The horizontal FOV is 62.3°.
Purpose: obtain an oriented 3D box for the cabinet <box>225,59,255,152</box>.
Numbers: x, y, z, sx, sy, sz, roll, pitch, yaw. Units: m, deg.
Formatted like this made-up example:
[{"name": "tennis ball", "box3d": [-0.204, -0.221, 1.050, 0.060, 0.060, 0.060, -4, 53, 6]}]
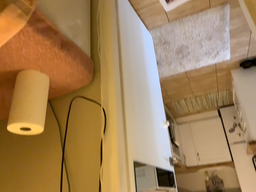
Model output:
[{"name": "cabinet", "box3d": [1.500, 0.140, 2.560, 0.350, 0.900, 0.660, -15, 152, 20]}]
